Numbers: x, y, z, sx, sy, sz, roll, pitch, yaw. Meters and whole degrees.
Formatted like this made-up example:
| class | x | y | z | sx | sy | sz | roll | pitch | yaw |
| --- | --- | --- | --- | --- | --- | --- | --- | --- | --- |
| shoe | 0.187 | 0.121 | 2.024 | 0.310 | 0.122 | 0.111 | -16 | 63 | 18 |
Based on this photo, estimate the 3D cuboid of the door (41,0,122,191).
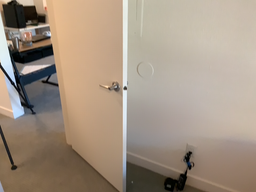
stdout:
| class | x | y | z | sx | sy | sz | roll | pitch | yaw |
| --- | --- | --- | --- | --- | --- | --- | --- | --- | --- |
| door | -0.360 | -0.280 | 1.540 | 0.040 | 1.960 | 0.880 | -22 | 35 | -39 |
